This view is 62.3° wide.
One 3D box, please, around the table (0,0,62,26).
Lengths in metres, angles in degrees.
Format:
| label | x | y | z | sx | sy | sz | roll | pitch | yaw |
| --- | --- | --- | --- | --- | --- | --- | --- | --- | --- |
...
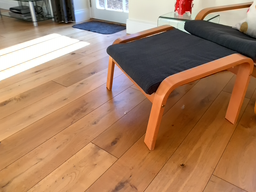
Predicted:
| label | x | y | z | sx | sy | sz | roll | pitch | yaw |
| --- | --- | --- | --- | --- | --- | --- | --- | --- | --- |
| table | -1.670 | -1.420 | 3.400 | 1.170 | 0.310 | 0.500 | 22 | 37 | 30 |

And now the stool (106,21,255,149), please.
| label | x | y | z | sx | sy | sz | roll | pitch | yaw |
| --- | --- | --- | --- | --- | --- | --- | --- | --- | --- |
| stool | 0.240 | -0.130 | 1.230 | 0.570 | 0.420 | 0.620 | -11 | 33 | -17 |
